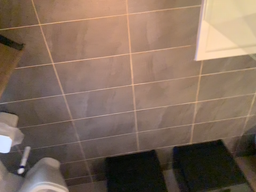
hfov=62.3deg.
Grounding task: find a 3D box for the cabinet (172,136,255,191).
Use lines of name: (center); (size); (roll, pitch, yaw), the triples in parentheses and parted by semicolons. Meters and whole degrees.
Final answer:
cabinet: (0.870, 0.920, 2.240); (0.580, 0.800, 0.440); (-8, 128, -3)
